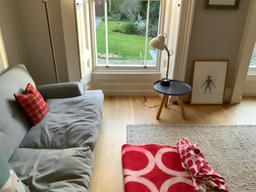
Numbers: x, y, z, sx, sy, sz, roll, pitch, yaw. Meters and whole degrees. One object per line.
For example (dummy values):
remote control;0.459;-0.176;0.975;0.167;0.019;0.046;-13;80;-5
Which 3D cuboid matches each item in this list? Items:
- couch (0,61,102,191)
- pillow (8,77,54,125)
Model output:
couch;-0.850;0.360;1.850;1.070;0.720;2.150;0;26;-2
pillow;-1.000;0.040;2.240;0.150;0.310;0.420;-26;26;13
